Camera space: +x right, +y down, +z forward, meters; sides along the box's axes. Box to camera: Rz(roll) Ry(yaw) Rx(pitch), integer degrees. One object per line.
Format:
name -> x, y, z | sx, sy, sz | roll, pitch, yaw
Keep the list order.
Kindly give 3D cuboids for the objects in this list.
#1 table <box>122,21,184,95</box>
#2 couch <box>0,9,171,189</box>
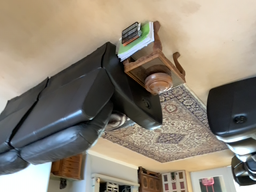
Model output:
table -> 0.210, -0.300, 1.800 | 0.310, 0.340, 0.450 | -23, 141, 30
couch -> -0.550, 0.230, 2.010 | 1.480, 0.980, 1.010 | -22, 143, 31
